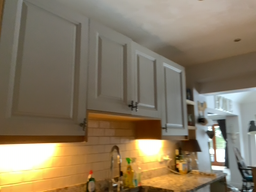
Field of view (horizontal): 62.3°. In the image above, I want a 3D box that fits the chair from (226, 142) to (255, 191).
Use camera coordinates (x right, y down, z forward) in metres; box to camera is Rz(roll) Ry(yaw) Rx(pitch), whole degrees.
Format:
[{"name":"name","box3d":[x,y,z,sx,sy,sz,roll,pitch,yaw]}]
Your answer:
[{"name":"chair","box3d":[2.730,1.670,4.900,0.620,1.140,0.570,-9,-13,39]}]
